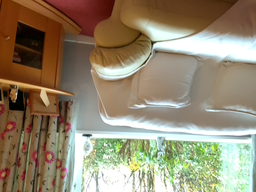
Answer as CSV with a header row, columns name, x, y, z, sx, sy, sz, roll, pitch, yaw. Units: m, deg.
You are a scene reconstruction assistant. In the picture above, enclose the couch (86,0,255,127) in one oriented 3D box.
name,x,y,z,sx,sy,sz,roll,pitch,yaw
couch,0.600,-0.240,1.480,1.670,0.880,0.900,4,173,-13
